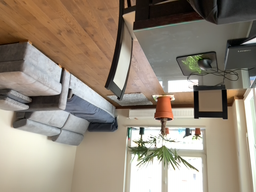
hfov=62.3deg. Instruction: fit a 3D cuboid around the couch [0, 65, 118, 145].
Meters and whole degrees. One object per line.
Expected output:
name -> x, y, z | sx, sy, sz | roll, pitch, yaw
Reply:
couch -> -1.130, 0.360, 4.270 | 1.050, 0.950, 2.300 | -2, 161, 18
